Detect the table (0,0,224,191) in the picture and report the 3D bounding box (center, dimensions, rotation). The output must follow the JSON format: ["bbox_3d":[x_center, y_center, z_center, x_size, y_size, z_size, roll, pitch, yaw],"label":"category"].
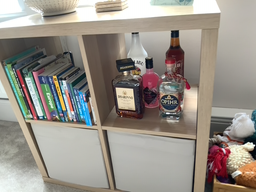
[{"bbox_3d":[-0.050,-0.010,0.980,0.780,0.760,0.450,3,30,16],"label":"table"}]
